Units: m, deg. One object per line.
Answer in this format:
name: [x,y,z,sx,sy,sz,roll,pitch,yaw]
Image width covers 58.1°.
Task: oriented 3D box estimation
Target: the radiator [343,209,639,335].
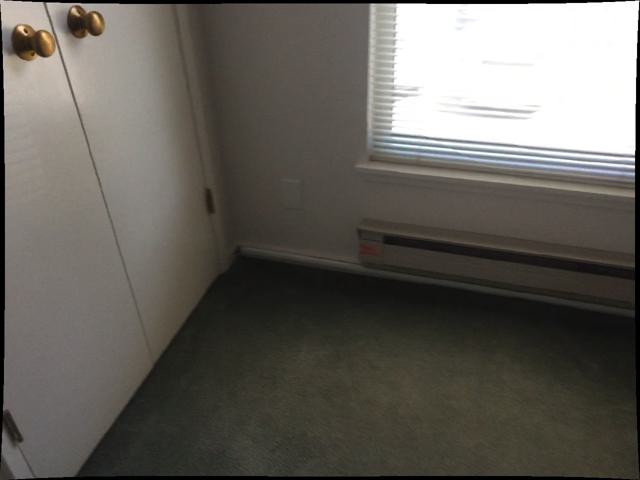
radiator: [0.569,0.100,1.830,1.009,0.250,0.070,10,39,14]
